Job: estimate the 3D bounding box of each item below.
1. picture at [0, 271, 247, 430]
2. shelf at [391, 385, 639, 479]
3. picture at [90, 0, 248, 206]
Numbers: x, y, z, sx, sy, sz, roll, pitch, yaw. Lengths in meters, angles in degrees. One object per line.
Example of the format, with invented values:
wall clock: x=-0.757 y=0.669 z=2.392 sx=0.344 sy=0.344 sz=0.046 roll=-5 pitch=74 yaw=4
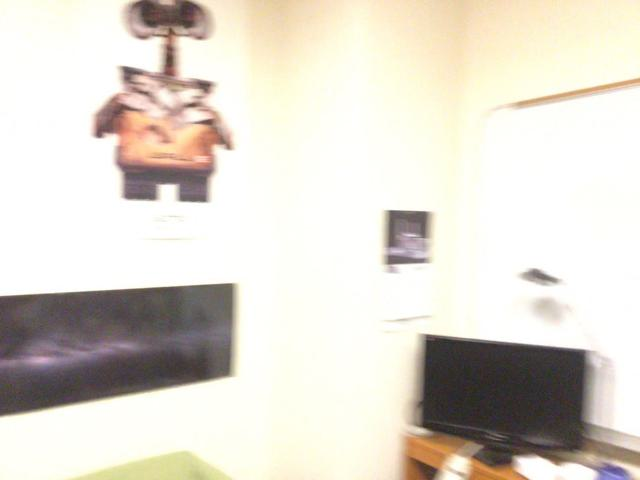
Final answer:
picture: x=-0.900 y=0.360 z=1.900 sx=1.430 sy=0.420 sz=0.150 roll=-2 pitch=3 yaw=-38
shelf: x=0.700 y=0.980 z=1.920 sx=0.390 sy=0.730 sz=0.910 roll=-2 pitch=3 yaw=-38
picture: x=-0.530 y=-0.530 z=2.100 sx=0.560 sy=0.810 sz=0.080 roll=-2 pitch=3 yaw=-38
